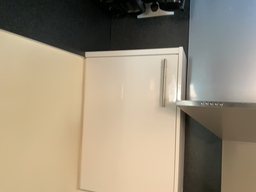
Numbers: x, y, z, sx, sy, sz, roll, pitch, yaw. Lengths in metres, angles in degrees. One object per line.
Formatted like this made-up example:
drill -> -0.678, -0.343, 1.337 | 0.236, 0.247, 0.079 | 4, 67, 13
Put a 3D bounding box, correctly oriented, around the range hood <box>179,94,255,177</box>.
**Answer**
range hood -> 0.540, 0.140, 0.940 | 0.540, 0.270, 0.520 | 2, 180, 20
